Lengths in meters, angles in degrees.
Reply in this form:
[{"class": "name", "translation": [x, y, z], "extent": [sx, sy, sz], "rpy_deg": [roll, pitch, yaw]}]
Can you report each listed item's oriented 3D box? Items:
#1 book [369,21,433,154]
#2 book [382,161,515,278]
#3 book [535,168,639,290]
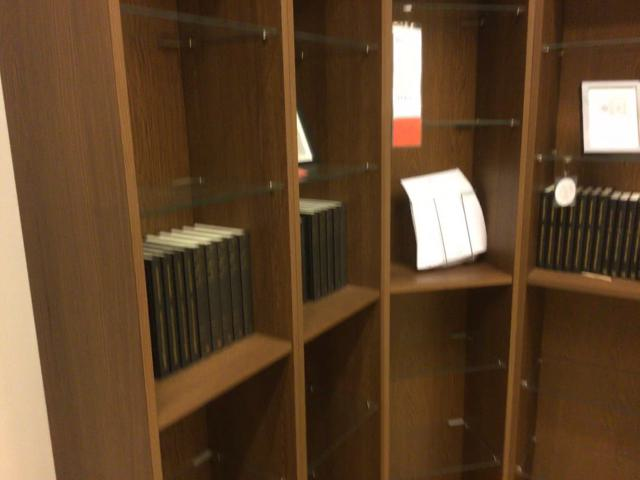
[{"class": "book", "translation": [0.200, -0.370, 1.420], "extent": [0.130, 0.300, 0.090], "rpy_deg": [-15, 18, -41]}, {"class": "book", "translation": [0.360, -0.070, 1.690], "extent": [0.310, 0.280, 0.260], "rpy_deg": [-4, 14, -4]}, {"class": "book", "translation": [0.950, -0.020, 1.430], "extent": [0.740, 0.270, 0.220], "rpy_deg": [7, 16, 33]}]
